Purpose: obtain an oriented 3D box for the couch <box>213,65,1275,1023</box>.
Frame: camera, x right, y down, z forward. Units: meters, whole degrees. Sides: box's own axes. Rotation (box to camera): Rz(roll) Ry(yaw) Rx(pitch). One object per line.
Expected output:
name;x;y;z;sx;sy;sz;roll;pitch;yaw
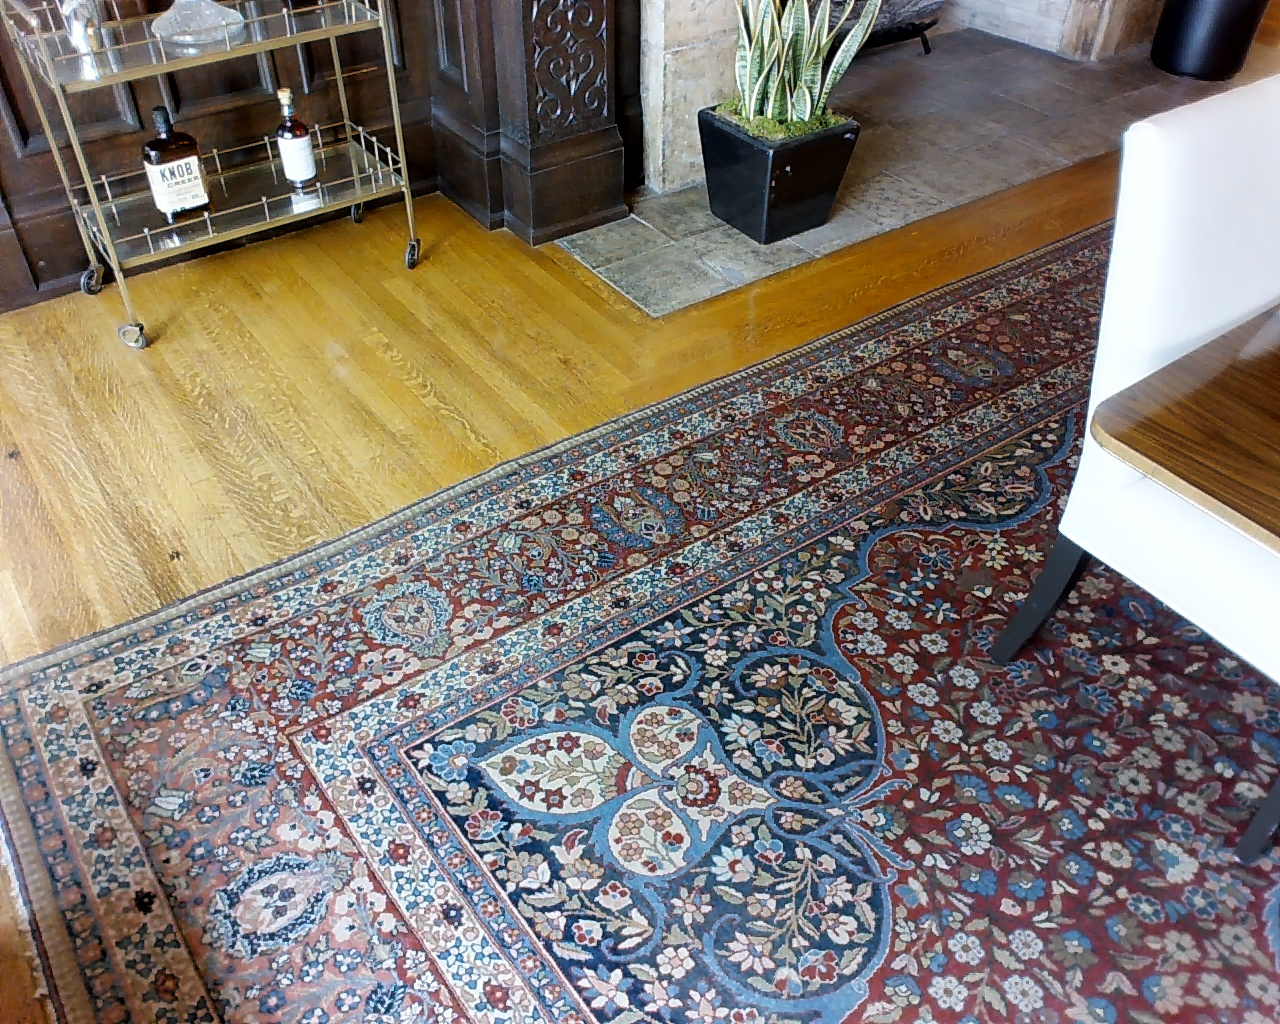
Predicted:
couch;-0.010;-0.180;2.500;1.020;0.840;2.210;-25;48;-26
